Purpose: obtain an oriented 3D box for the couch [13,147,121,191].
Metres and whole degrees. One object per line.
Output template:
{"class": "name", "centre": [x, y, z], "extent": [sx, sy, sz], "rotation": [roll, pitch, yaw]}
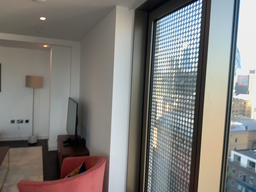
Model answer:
{"class": "couch", "centre": [-0.560, 1.060, 2.120], "extent": [0.710, 0.790, 0.760], "rotation": [5, 5, 20]}
